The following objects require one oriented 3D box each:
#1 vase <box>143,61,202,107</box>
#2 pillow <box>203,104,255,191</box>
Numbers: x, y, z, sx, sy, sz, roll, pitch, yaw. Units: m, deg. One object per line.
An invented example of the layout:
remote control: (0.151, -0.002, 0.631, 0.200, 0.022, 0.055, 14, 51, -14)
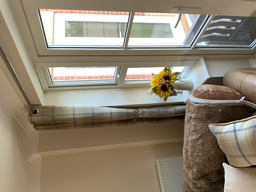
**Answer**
vase: (0.420, -0.120, 2.120, 0.330, 0.420, 0.320, 108, 155, -59)
pillow: (0.810, 0.640, 1.470, 0.350, 0.410, 1.100, -134, 43, -71)
